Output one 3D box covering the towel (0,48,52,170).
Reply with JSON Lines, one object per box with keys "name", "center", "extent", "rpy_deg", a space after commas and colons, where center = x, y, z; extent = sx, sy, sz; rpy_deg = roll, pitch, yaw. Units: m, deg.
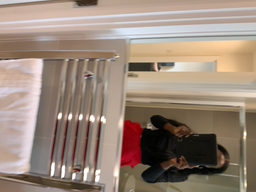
{"name": "towel", "center": [-0.510, 0.040, 0.840], "extent": [0.110, 0.340, 0.430], "rpy_deg": [31, 62, -74]}
